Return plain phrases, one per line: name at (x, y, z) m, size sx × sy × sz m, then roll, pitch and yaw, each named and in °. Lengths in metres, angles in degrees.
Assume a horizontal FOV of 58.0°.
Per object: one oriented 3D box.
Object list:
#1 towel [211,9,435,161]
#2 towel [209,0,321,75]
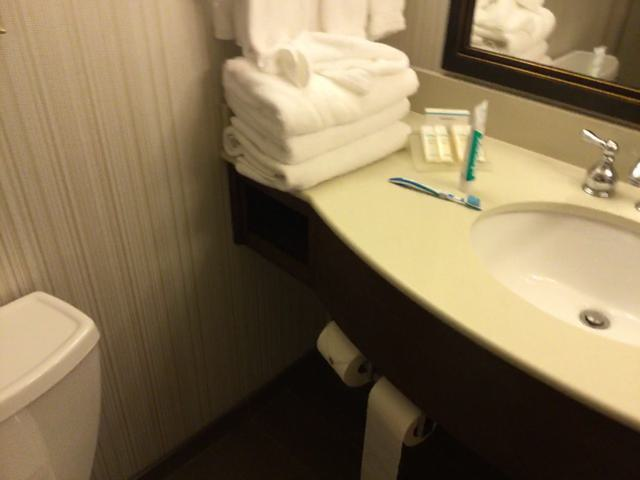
towel at (0.010, -0.320, 1.130) m, size 0.240 × 0.160 × 0.360 m, roll 30°, pitch 42°, yaw 32°
towel at (-0.100, -0.430, 1.070) m, size 0.120 × 0.190 × 0.170 m, roll 29°, pitch 41°, yaw 33°
